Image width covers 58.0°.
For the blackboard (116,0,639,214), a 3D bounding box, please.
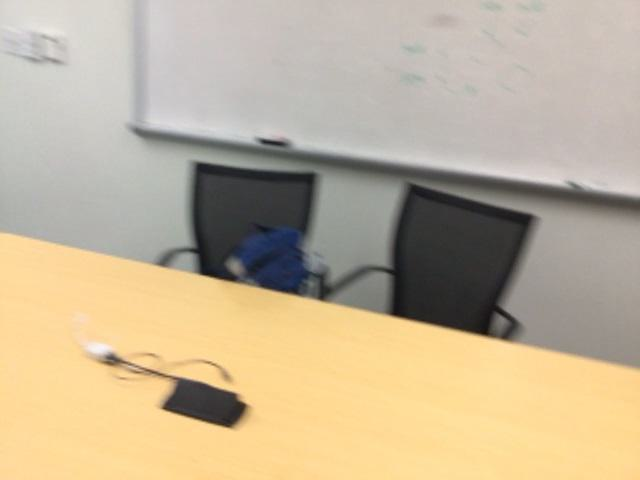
[{"bbox_3d":[0.350,-0.870,2.080,2.410,1.240,0.160,12,23,14],"label":"blackboard"}]
